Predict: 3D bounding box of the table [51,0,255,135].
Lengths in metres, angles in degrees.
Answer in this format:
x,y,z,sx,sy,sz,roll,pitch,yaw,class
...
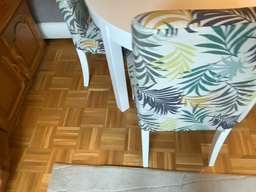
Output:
x,y,z,sx,sy,sz,roll,pitch,yaw,class
0.350,-0.450,1.370,1.160,0.730,1.160,0,55,5,table

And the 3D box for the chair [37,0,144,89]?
x,y,z,sx,sy,sz,roll,pitch,yaw,class
-0.160,-0.520,1.310,0.510,0.970,0.450,0,54,5,chair

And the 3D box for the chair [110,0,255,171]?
x,y,z,sx,sy,sz,roll,pitch,yaw,class
0.230,-0.060,0.960,0.460,0.960,0.500,-1,54,4,chair
